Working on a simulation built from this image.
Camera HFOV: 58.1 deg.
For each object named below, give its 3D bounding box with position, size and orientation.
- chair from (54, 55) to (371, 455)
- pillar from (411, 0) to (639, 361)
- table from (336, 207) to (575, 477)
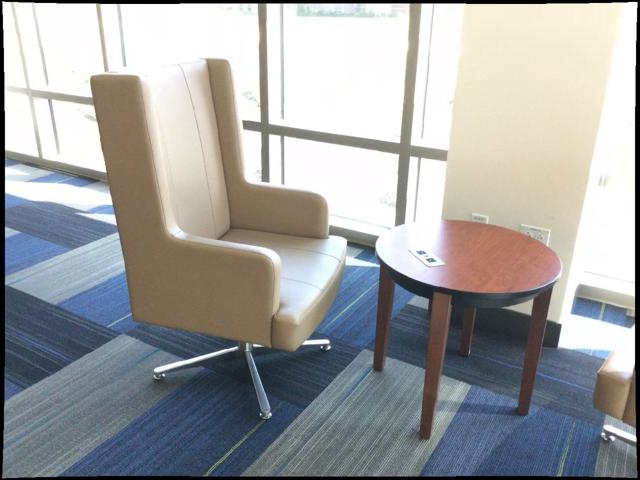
[{"bbox_3d":[-0.279,-0.020,2.090,0.738,1.153,0.780,7,24,15],"label":"chair"},{"bbox_3d":[0.878,-0.381,2.490,0.669,1.513,0.680,13,27,27],"label":"pillar"},{"bbox_3d":[0.489,0.301,2.080,0.629,0.571,0.650,13,27,27],"label":"table"}]
